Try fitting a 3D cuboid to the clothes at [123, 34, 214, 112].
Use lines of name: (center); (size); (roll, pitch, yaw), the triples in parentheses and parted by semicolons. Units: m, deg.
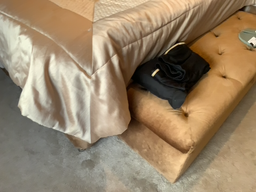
clothes: (0.210, -0.140, 1.070); (0.290, 0.110, 0.390); (29, 51, 22)
